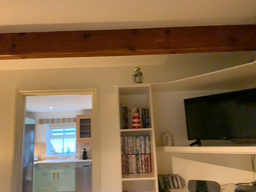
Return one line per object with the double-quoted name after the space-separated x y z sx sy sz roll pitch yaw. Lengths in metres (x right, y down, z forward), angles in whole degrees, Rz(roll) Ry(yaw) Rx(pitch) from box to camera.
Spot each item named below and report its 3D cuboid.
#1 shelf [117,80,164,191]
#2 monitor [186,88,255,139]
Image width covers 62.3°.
0.120 0.850 2.130 0.390 1.960 0.460 -2 -11 -3 "shelf"
0.890 0.190 2.020 0.670 0.420 0.050 -12 -14 40 "monitor"
